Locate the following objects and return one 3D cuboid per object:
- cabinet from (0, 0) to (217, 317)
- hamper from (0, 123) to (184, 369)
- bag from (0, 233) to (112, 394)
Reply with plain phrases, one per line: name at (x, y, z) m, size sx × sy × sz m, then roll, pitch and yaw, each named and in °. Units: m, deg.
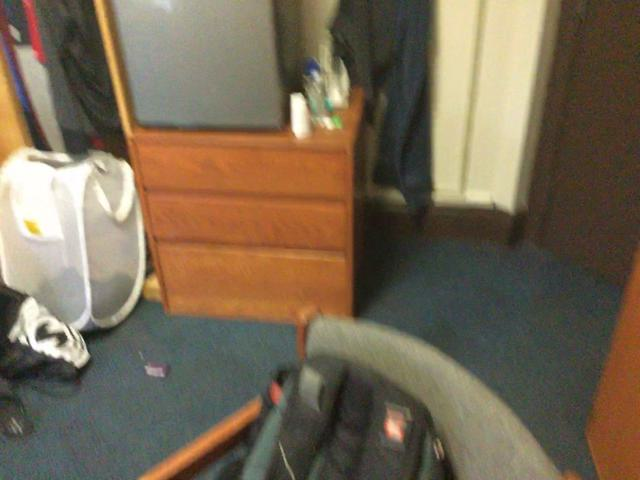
cabinet at (-1.040, -0.580, 2.210) m, size 0.980 × 1.560 × 0.670 m, roll 5°, pitch 31°, yaw 8°
hamper at (-0.900, -0.010, 2.120) m, size 0.550 × 0.620 × 0.480 m, roll -23°, pitch 38°, yaw -32°
bag at (-0.970, 0.240, 1.950) m, size 0.340 × 0.390 × 0.280 m, roll 10°, pitch 33°, yaw 17°
